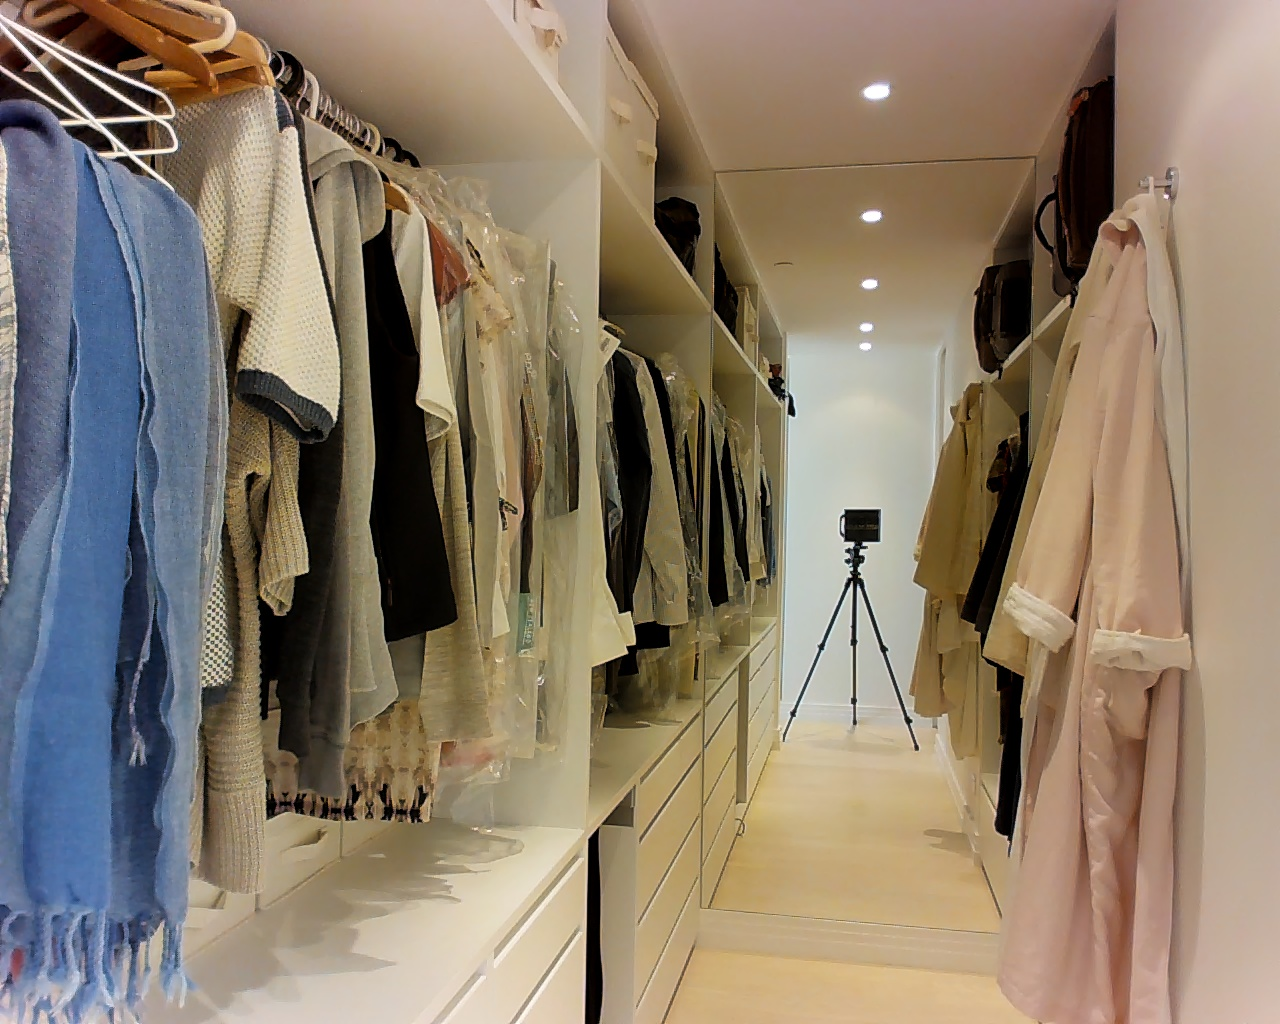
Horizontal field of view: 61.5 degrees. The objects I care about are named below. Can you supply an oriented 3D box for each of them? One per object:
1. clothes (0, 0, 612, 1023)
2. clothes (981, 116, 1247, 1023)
[{"bbox_3d":[-0.450,-0.040,1.350,0.490,0.880,1.400,1,1,13],"label":"clothes"},{"bbox_3d":[0.780,0.170,1.850,0.290,1.500,0.510,1,1,12],"label":"clothes"}]
